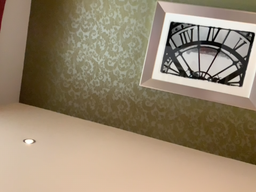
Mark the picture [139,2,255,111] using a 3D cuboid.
[{"bbox_3d":[0.660,-0.350,1.820,1.010,0.750,0.030,13,-172,12],"label":"picture"}]
